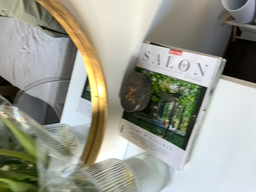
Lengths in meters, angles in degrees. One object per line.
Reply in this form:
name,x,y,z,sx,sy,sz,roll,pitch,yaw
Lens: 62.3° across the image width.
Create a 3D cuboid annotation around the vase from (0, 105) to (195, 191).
vase,-0.100,0.260,0.450,0.190,0.510,0.430,23,103,34
